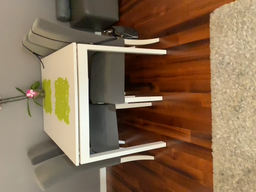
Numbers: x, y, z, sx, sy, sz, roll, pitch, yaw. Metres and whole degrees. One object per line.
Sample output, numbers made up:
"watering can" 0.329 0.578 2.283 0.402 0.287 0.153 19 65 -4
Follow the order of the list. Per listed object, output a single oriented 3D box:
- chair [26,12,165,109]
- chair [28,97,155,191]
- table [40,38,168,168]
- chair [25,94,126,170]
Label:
"chair" -0.250 -0.240 1.720 0.510 0.980 0.570 7 98 58
"chair" -0.300 0.350 1.850 0.510 0.960 0.610 6 98 58
"table" -0.330 0.000 2.060 1.240 0.760 0.820 7 98 58
"chair" -0.560 0.310 2.300 0.510 0.940 0.610 6 98 58
